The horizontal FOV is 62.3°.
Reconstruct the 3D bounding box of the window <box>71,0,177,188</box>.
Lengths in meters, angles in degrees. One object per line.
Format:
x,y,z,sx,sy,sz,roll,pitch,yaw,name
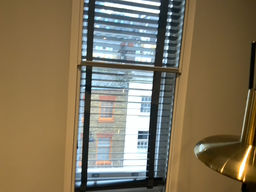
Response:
-0.030,-0.110,1.420,0.620,1.460,0.070,3,6,-13,window
